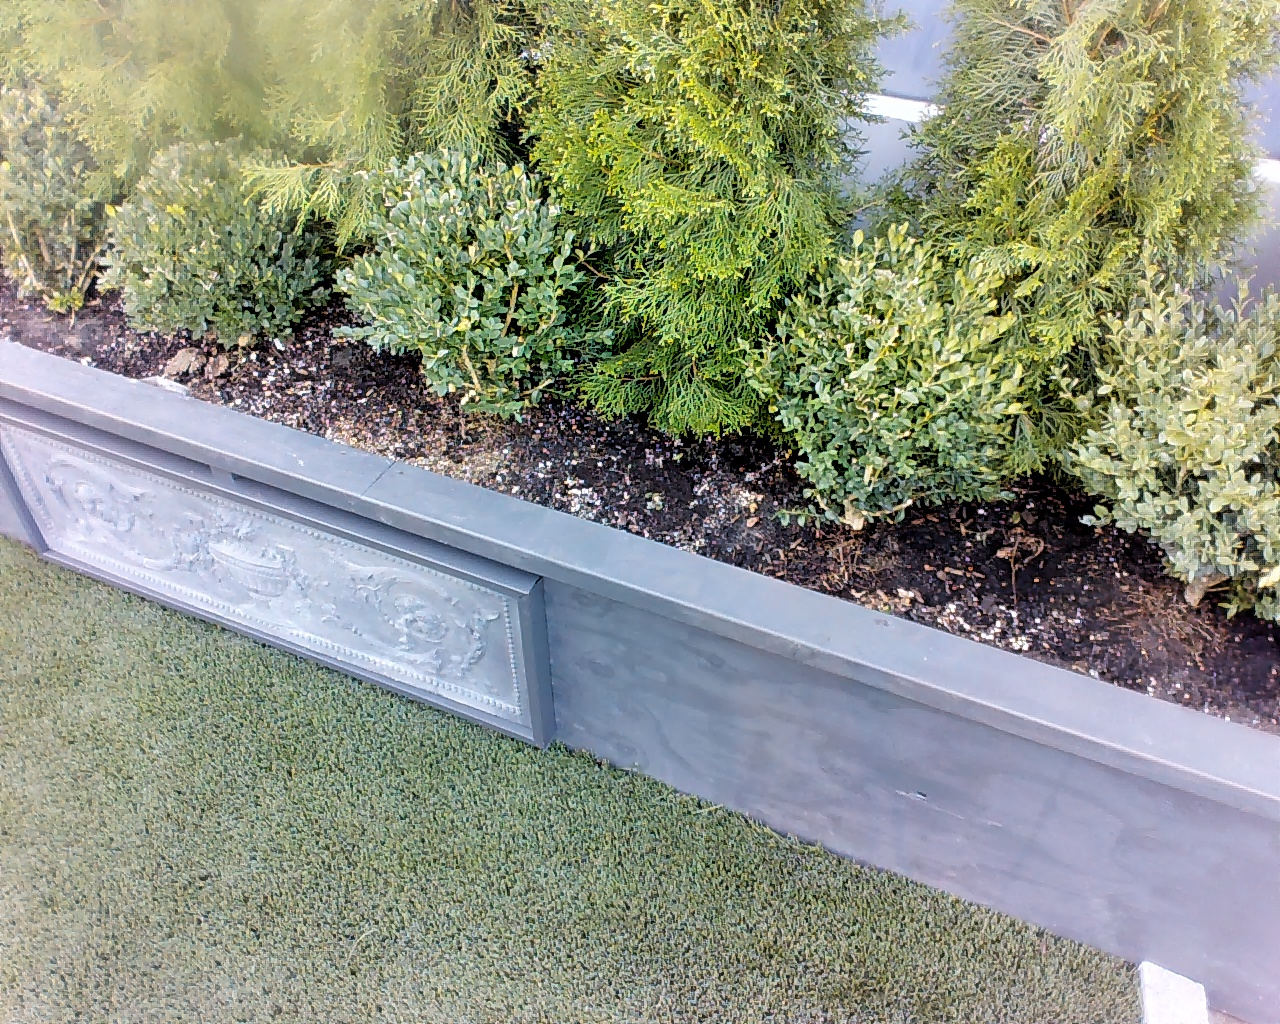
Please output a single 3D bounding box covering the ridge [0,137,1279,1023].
[{"bbox_3d":[-0.900,-0.210,1.940,5.539,0.540,0.620,16,45,16],"label":"ridge"}]
